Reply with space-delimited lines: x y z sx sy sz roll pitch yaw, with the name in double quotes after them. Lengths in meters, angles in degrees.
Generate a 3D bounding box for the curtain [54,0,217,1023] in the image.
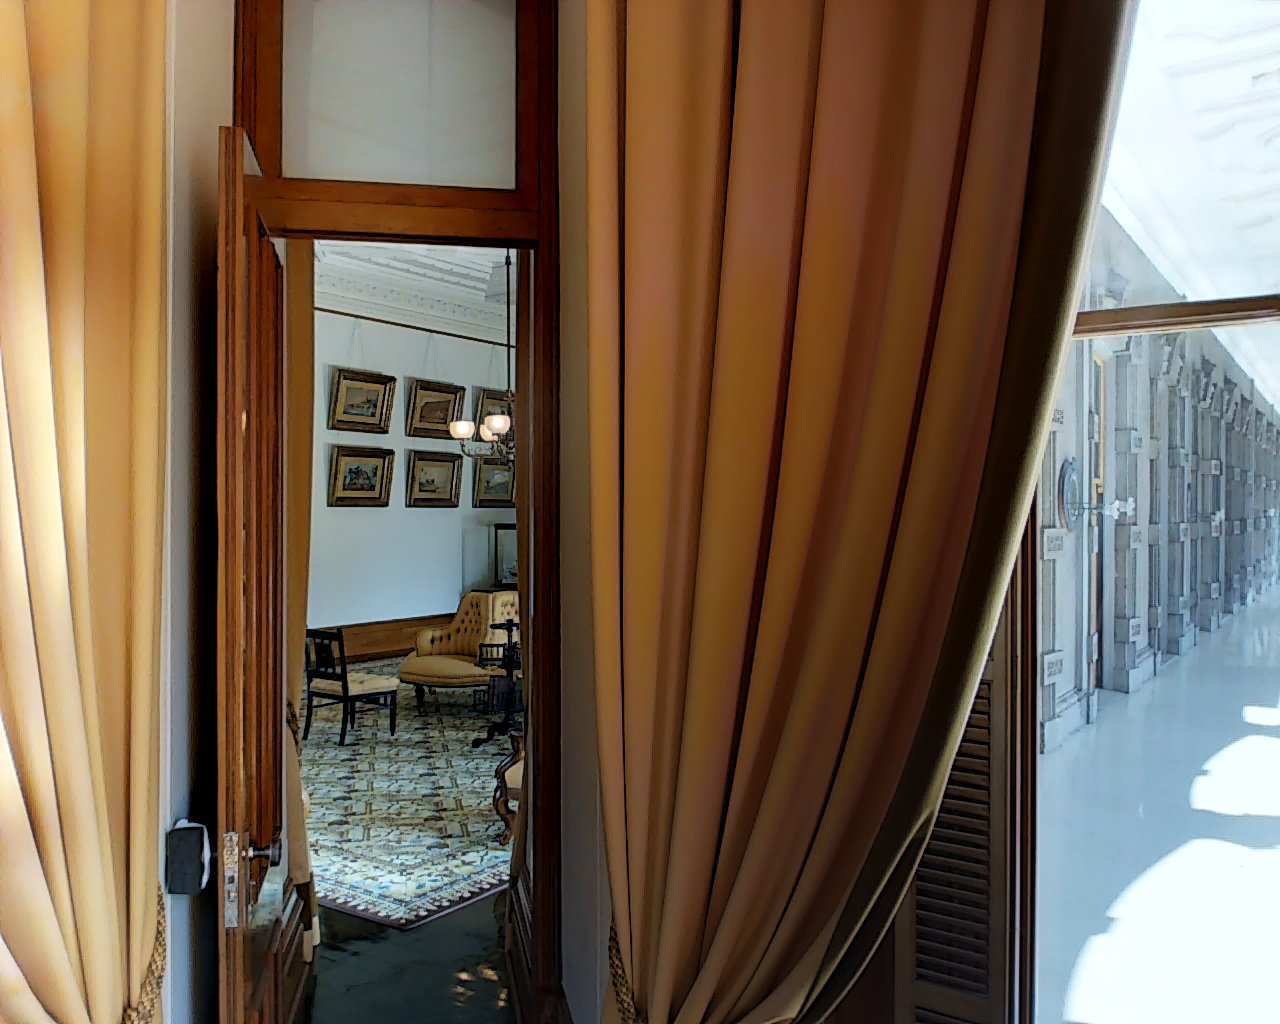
-0.840 0.030 1.820 0.170 2.980 0.310 0 -1 -10 "curtain"

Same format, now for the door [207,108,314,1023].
-0.810 0.390 2.350 0.090 2.250 0.780 0 -1 -10 "door"
